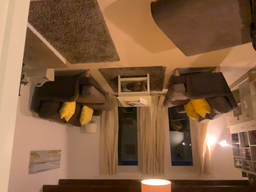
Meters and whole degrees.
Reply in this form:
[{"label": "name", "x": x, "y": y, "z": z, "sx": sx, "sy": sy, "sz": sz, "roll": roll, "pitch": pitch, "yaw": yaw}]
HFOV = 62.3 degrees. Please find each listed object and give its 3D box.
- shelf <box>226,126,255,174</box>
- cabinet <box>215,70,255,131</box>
[{"label": "shelf", "x": 2.530, "y": 1.140, "z": 4.540, "sx": 0.240, "sy": 0.870, "sz": 1.460, "roll": -1, "pitch": 167, "yaw": 4}, {"label": "cabinet", "x": 2.400, "y": 0.180, "z": 4.580, "sx": 0.460, "sy": 1.030, "sz": 1.470, "roll": -1, "pitch": 167, "yaw": 4}]
